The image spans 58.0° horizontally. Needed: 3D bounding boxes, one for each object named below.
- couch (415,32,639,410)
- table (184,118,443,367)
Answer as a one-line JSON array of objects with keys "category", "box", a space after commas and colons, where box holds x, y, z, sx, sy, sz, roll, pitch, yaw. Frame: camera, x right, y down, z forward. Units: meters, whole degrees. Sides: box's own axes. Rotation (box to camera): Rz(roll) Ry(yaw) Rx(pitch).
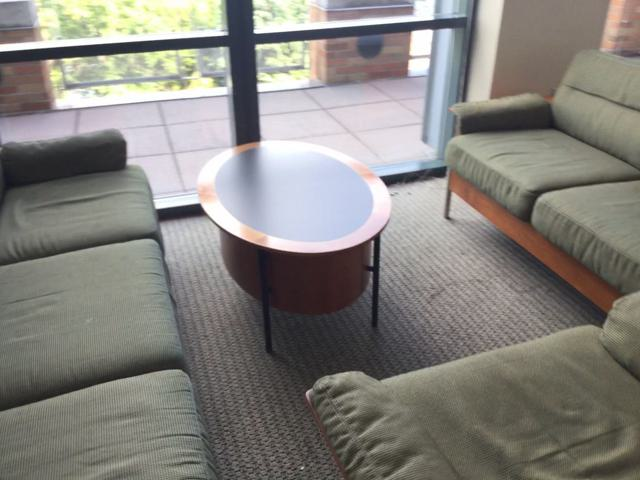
[{"category": "couch", "box": [1.100, -0.210, 2.200, 0.780, 0.750, 1.760, -13, 31, -12]}, {"category": "table", "box": [-0.090, -0.080, 2.250, 0.700, 0.380, 1.060, -13, 31, -12]}]
